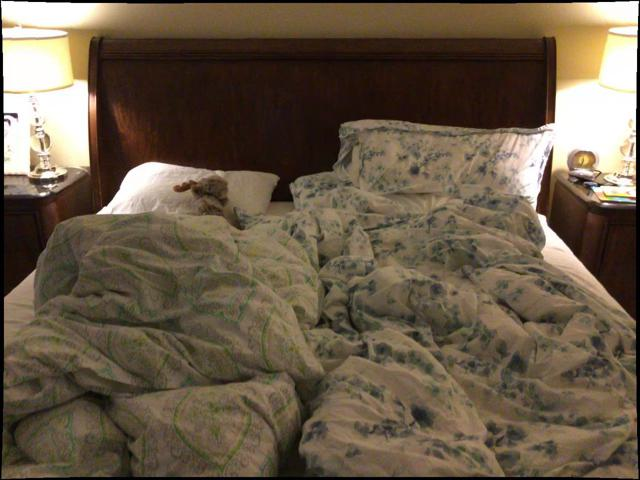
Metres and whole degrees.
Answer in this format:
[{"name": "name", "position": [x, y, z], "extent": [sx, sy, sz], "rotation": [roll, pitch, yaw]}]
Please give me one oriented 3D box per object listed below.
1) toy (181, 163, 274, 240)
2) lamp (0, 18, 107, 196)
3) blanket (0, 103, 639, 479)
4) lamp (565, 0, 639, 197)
[{"name": "toy", "position": [-0.329, -0.150, 2.150], "extent": [0.269, 0.180, 0.330], "rotation": [0, 25, 3]}, {"name": "lamp", "position": [-1.217, -0.591, 2.540], "extent": [0.289, 0.691, 0.410], "rotation": [0, 25, 3]}, {"name": "blanket", "position": [0.070, 0.070, 1.530], "extent": [1.536, 0.421, 2.121], "rotation": [0, 25, 3]}, {"name": "lamp", "position": [1.377, -0.581, 2.320], "extent": [0.519, 0.711, 0.420], "rotation": [0, 25, 3]}]
